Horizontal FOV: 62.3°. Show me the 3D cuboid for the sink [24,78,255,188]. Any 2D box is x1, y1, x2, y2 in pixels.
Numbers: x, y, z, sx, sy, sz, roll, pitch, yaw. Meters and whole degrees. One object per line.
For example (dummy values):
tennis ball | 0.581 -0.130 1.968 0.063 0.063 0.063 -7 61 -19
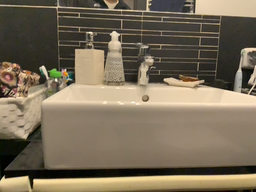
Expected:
sink | 0.060 0.050 0.610 0.530 0.160 0.430 0 10 -8
